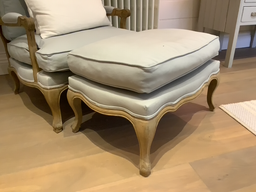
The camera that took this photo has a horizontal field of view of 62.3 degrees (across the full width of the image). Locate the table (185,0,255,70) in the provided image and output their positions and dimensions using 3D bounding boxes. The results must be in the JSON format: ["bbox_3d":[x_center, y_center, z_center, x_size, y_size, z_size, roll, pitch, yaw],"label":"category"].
[{"bbox_3d":[1.530,-0.840,2.300,1.570,0.780,0.660,-8,27,-15],"label":"table"}]

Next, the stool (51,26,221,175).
[{"bbox_3d":[0.080,-0.080,1.160,0.500,0.460,0.730,21,34,37],"label":"stool"}]
